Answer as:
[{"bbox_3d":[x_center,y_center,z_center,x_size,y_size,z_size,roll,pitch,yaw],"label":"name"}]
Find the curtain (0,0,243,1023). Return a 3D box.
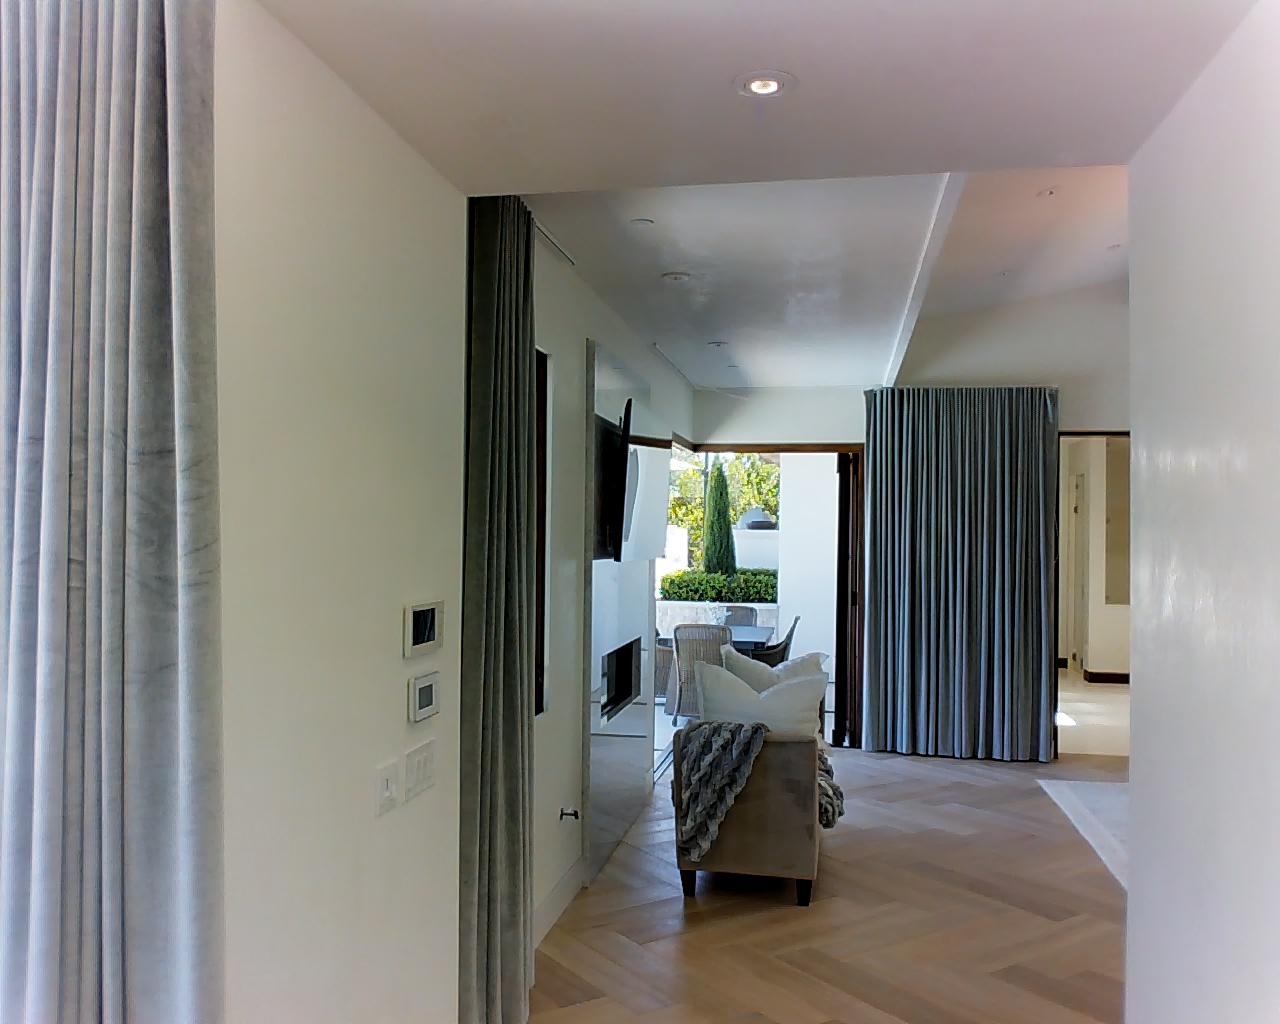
[{"bbox_3d":[-1.020,0.260,1.740,0.690,2.790,0.150,0,-1,10],"label":"curtain"}]
